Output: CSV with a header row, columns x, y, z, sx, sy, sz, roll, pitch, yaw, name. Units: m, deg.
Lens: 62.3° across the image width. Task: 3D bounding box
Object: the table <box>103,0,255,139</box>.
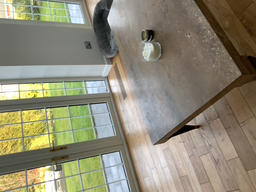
x,y,z,sx,sy,sz,roll,pitch,yaw,name
0.290,-0.500,1.700,0.880,0.450,1.380,-55,47,52,table
